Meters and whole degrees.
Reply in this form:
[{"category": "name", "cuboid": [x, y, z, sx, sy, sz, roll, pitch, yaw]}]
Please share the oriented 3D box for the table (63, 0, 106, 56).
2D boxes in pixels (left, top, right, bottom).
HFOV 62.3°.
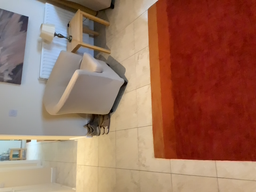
[{"category": "table", "cuboid": [-0.680, -1.030, 3.310, 0.450, 0.490, 0.560, -20, 67, 49]}]
